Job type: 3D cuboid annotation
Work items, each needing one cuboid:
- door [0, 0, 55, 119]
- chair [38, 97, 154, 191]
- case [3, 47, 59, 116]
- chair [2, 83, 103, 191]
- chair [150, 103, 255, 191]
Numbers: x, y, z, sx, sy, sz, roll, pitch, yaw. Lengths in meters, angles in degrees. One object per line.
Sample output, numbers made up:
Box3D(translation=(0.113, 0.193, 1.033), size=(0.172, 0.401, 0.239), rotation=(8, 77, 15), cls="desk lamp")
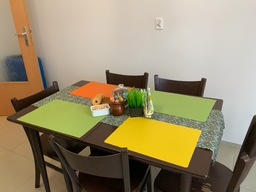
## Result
Box3D(translation=(-1.470, -0.690, 2.470), size=(0.880, 2.100, 0.110), rotation=(1, 24, 7), cls="door")
Box3D(translation=(-0.110, 0.480, 1.240), size=(0.420, 0.780, 0.480), rotation=(6, 25, 17), cls="chair")
Box3D(translation=(-1.340, -0.210, 2.970), size=(0.540, 0.870, 0.270), rotation=(10, 27, 25), cls="case")
Box3D(translation=(-0.520, 0.360, 1.560), size=(0.480, 0.760, 0.370), rotation=(15, 29, 33), cls="chair")
Box3D(translation=(0.400, 0.510, 1.140), size=(0.420, 0.780, 0.390), rotation=(14, 29, 32), cls="chair")
